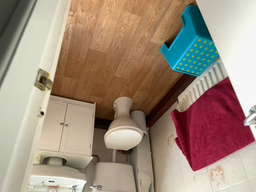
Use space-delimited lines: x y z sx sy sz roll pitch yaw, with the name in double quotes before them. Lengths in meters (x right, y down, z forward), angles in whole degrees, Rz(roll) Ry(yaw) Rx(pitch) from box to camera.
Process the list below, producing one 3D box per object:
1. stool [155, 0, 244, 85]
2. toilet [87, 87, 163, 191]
"stool" 0.480 -0.360 1.540 0.360 0.260 0.460 12 141 -19
"toilet" -0.080 0.510 2.130 0.450 0.890 0.700 13 141 -19
